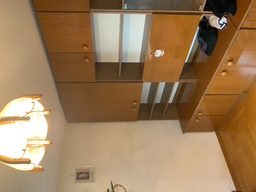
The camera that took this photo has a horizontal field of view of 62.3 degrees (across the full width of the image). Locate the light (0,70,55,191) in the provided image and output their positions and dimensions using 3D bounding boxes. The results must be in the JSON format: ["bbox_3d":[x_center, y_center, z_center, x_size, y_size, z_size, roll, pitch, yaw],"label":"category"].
[{"bbox_3d":[-0.580,0.170,0.900,0.400,0.360,0.440,27,122,48],"label":"light"}]

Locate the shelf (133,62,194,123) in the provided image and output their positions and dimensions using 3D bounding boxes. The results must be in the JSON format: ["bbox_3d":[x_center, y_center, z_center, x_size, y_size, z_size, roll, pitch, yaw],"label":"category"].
[{"bbox_3d":[0.460,-0.020,3.140,0.940,0.660,0.390,96,171,-51],"label":"shelf"}]

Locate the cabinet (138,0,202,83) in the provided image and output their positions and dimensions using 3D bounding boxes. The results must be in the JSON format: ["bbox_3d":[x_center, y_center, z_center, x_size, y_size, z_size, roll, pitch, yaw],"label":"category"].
[{"bbox_3d":[0.410,-0.610,2.410,0.940,0.450,0.390,96,171,-51],"label":"cabinet"}]

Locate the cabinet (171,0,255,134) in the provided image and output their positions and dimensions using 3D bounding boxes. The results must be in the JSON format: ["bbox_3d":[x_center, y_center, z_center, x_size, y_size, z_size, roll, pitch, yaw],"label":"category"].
[{"bbox_3d":[1.160,-0.680,2.230,3.280,0.570,0.620,96,171,-51],"label":"cabinet"}]

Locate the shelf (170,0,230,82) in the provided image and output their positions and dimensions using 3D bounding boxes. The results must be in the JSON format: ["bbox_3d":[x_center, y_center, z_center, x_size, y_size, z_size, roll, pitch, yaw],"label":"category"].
[{"bbox_3d":[0.790,-1.060,1.900,2.340,0.220,0.380,96,171,-51],"label":"shelf"}]
